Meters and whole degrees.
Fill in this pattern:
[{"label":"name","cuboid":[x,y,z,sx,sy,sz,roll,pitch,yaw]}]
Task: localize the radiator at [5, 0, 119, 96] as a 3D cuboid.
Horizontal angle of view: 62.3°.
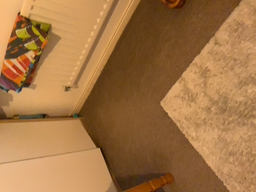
[{"label":"radiator","cuboid":[-0.430,-0.400,1.420,0.070,0.500,1.000,51,122,32]}]
